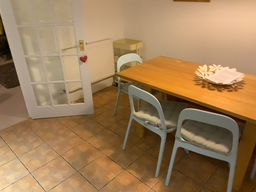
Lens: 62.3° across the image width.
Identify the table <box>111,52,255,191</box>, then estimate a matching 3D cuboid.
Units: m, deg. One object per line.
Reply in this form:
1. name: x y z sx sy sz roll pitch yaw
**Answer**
1. table: 0.690 0.140 2.200 1.600 0.760 0.830 23 36 39
